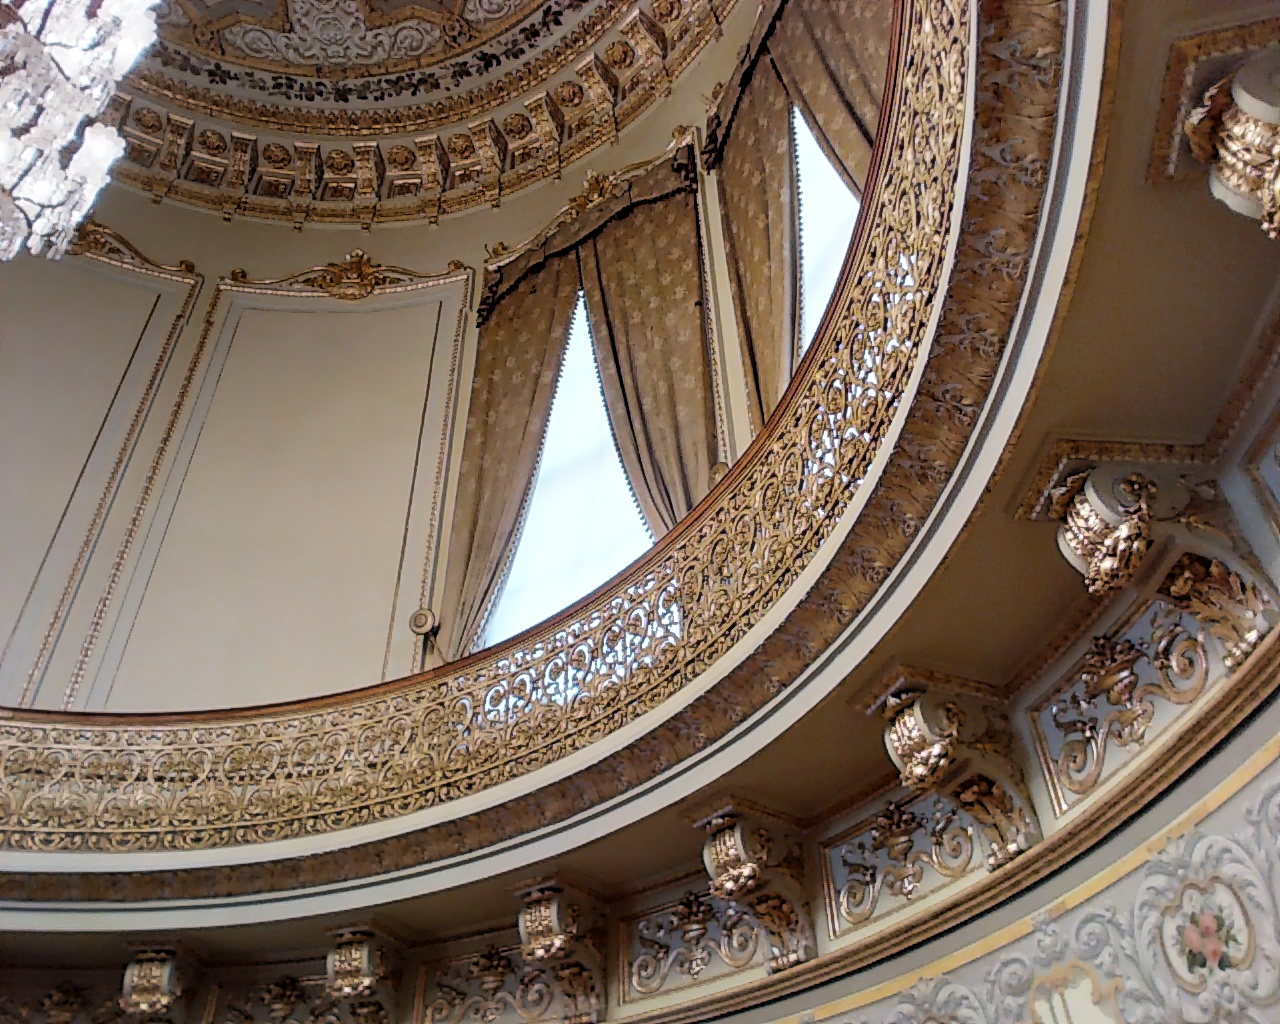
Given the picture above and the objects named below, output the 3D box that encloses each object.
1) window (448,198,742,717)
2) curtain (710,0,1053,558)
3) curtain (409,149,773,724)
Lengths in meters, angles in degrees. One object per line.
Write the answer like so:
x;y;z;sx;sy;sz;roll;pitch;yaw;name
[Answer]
-0.260;-0.460;5.950;1.619;3.071;0.060;-24;-47;25;window
0.839;-1.671;4.960;0.140;3.501;1.720;15;-44;-17;curtain
-0.280;-0.560;5.750;1.839;3.131;0.200;-25;-47;25;curtain
